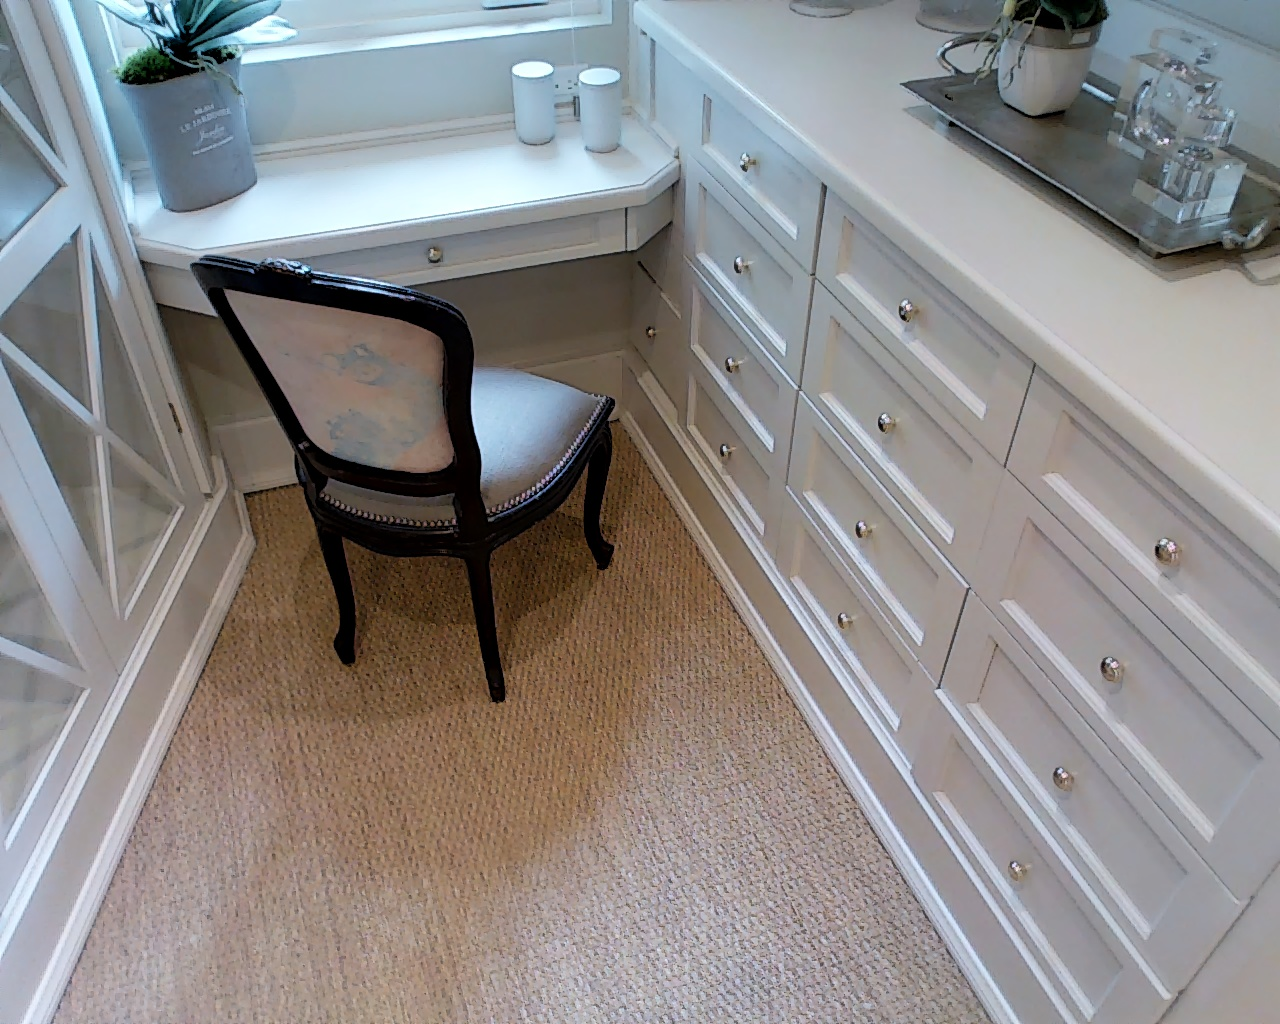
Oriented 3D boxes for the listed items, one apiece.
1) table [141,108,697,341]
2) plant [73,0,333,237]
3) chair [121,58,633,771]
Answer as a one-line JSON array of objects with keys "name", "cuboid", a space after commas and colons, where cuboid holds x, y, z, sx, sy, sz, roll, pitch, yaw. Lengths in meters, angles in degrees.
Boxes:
[{"name": "table", "cuboid": [-0.400, -0.560, 2.010, 0.950, 0.150, 0.340, -14, 44, -16]}, {"name": "plant", "cuboid": [-0.730, -0.800, 1.750, 0.300, 0.540, 0.360, -14, 44, -16]}, {"name": "chair", "cuboid": [-0.340, -0.150, 1.820, 0.440, 0.950, 0.610, 16, 44, 16]}]
